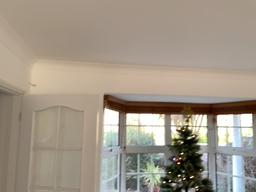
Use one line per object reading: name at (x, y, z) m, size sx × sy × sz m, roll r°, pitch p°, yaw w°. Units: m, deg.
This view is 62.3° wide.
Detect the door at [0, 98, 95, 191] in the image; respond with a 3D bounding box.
door at (-0.830, 1.070, 1.960) m, size 0.990 × 2.110 × 0.070 m, roll 0°, pitch -7°, yaw 10°

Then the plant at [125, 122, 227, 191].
plant at (0.510, 1.270, 2.760) m, size 1.020 × 1.810 × 1.080 m, roll 2°, pitch -7°, yaw -5°
